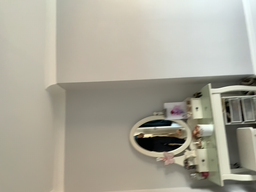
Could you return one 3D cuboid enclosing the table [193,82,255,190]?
[{"bbox_3d":[1.210,0.410,2.340,0.550,0.720,1.010,94,174,-80],"label":"table"}]
